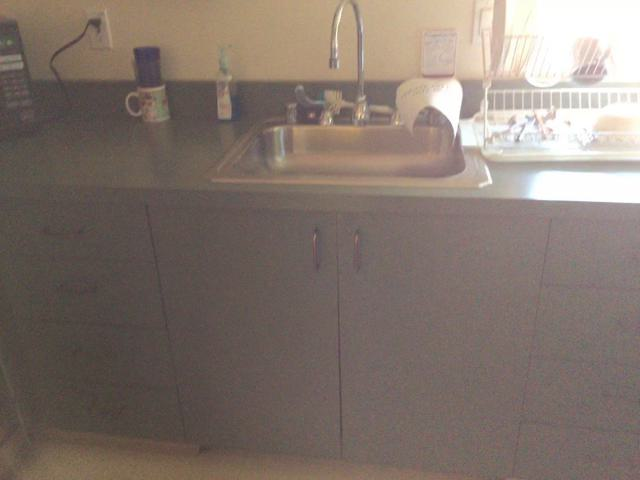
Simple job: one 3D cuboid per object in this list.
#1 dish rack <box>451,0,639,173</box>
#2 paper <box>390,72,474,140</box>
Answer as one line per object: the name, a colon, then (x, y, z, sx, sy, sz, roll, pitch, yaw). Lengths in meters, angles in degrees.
dish rack: (0.630, -0.420, 1.360, 0.570, 0.410, 0.420, 5, 23, 8)
paper: (0.290, -0.360, 1.520, 0.190, 0.120, 0.280, 5, 23, 8)
